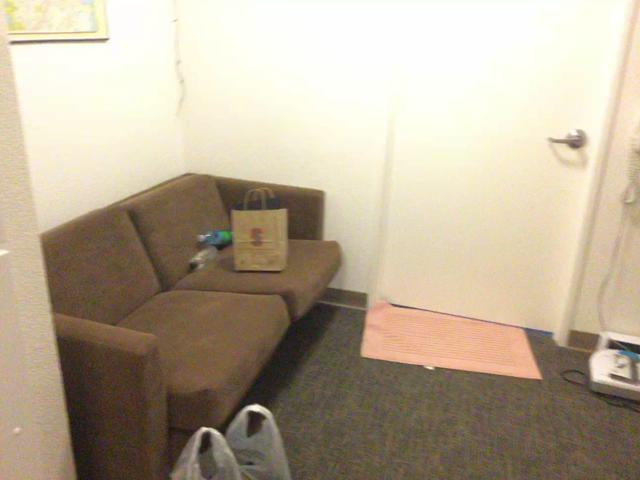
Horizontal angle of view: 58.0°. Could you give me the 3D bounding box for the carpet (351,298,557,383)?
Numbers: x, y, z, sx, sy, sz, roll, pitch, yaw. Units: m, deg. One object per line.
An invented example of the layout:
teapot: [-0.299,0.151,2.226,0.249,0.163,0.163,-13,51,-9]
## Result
carpet: [0.610,0.450,2.710,0.860,0.110,0.470,3,19,12]
